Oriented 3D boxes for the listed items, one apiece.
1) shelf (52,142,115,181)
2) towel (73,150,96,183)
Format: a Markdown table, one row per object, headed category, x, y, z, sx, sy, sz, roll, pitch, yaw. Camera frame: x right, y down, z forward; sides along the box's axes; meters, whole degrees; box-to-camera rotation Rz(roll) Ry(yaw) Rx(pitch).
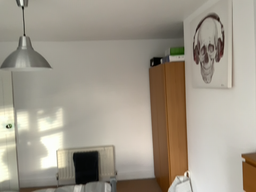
| category | x | y | z | sx | sy | sz | roll | pitch | yaw |
| --- | --- | --- | --- | --- | --- | --- | --- | --- | --- |
| shelf | -0.760 | 1.140 | 3.720 | 1.040 | 0.570 | 0.150 | -2 | 4 | -6 |
| towel | -0.730 | 1.190 | 3.590 | 0.340 | 0.510 | 0.120 | -2 | 4 | -4 |
